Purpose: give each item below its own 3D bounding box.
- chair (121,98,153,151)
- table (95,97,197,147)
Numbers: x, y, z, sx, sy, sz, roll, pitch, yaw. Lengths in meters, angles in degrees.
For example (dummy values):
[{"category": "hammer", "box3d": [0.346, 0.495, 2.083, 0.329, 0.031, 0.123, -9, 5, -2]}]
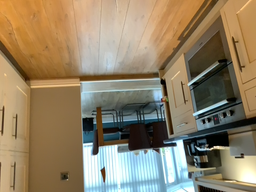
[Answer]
[{"category": "chair", "box3d": [0.150, 0.590, 4.240, 0.440, 0.930, 0.630, -4, 165, -8]}, {"category": "table", "box3d": [0.300, 0.580, 4.570, 1.950, 0.770, 0.940, -4, 165, -9]}]
